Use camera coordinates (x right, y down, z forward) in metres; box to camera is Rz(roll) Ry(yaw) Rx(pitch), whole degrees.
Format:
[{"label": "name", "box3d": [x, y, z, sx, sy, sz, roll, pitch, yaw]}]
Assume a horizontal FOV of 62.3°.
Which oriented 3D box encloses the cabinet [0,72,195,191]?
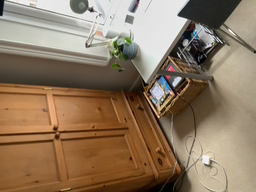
[{"label": "cabinet", "box3d": [-0.550, 0.460, 1.860, 0.650, 2.020, 1.070, -54, 46, 38]}]
